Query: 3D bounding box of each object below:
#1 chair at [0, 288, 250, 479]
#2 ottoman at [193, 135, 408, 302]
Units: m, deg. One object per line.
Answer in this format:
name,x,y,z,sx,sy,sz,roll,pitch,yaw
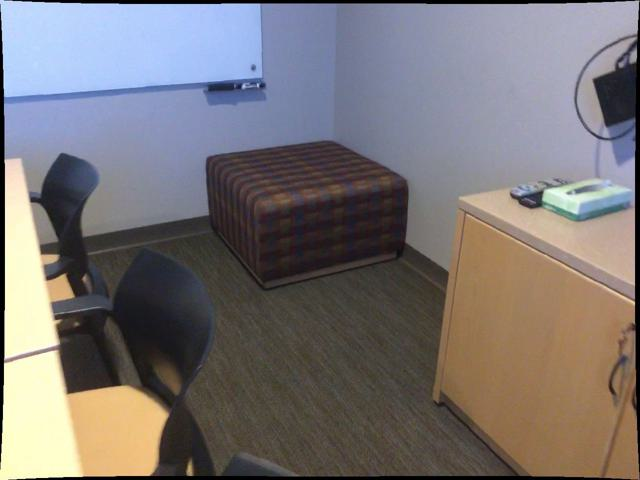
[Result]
chair,-0.459,0.431,0.960,0.539,0.290,0.710,-13,29,-26
ottoman,-0.120,-0.160,2.860,0.759,0.451,0.770,-13,29,-26
